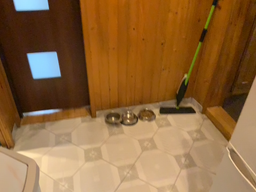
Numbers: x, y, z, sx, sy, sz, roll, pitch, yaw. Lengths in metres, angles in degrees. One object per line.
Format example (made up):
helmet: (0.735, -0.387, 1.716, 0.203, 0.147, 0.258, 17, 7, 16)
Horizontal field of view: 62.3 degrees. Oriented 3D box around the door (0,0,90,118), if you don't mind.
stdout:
door: (-0.720, -0.690, 1.640, 0.700, 2.100, 0.050, -6, 35, -11)
